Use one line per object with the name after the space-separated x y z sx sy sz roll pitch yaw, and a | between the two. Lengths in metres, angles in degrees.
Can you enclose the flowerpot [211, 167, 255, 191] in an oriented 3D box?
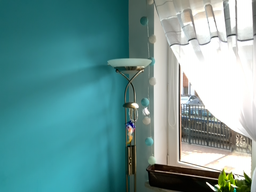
0.670 0.580 1.270 0.270 0.190 0.200 2 2 42 | flowerpot
